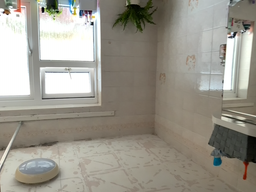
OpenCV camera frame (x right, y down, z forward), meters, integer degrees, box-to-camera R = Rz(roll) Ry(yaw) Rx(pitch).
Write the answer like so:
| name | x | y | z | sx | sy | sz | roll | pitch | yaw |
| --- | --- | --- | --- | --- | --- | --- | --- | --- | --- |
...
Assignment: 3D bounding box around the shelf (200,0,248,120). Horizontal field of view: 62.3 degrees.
| name | x | y | z | sx | sy | sz | roll | pitch | yaw |
| --- | --- | --- | --- | --- | --- | --- | --- | --- | --- |
| shelf | 0.570 | -0.200 | 1.280 | 0.130 | 0.660 | 0.170 | -2 | -171 | -21 |
